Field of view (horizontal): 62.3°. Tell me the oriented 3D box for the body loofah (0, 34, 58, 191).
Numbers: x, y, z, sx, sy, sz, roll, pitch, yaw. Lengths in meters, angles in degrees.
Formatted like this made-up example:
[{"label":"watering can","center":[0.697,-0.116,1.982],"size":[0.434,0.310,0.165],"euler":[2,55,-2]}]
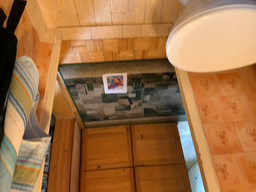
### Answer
[{"label":"body loofah","center":[-0.400,0.110,0.830],"size":[0.110,0.700,0.280],"euler":[-2,148,-4]}]
